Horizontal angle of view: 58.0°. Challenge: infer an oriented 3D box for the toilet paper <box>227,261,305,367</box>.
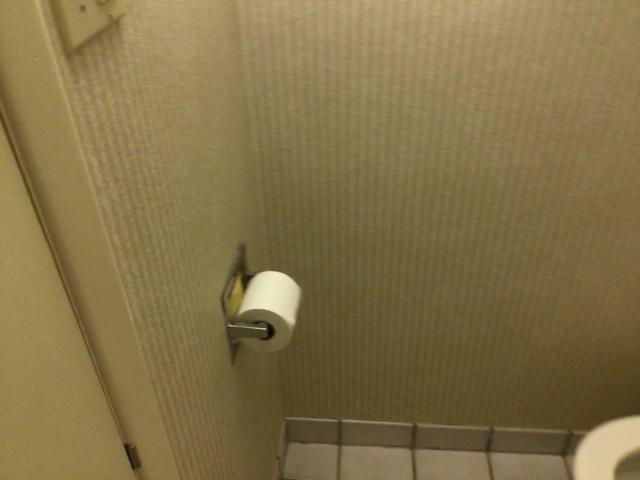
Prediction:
[{"bbox_3d":[-0.090,0.130,1.030,0.110,0.130,0.130,2,33,5],"label":"toilet paper"}]
